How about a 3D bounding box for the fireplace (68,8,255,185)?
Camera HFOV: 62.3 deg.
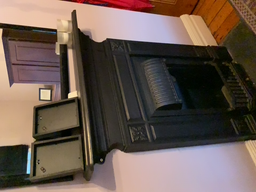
[{"bbox_3d":[0.270,-0.070,1.370,0.300,1.200,0.980,115,148,-51],"label":"fireplace"}]
